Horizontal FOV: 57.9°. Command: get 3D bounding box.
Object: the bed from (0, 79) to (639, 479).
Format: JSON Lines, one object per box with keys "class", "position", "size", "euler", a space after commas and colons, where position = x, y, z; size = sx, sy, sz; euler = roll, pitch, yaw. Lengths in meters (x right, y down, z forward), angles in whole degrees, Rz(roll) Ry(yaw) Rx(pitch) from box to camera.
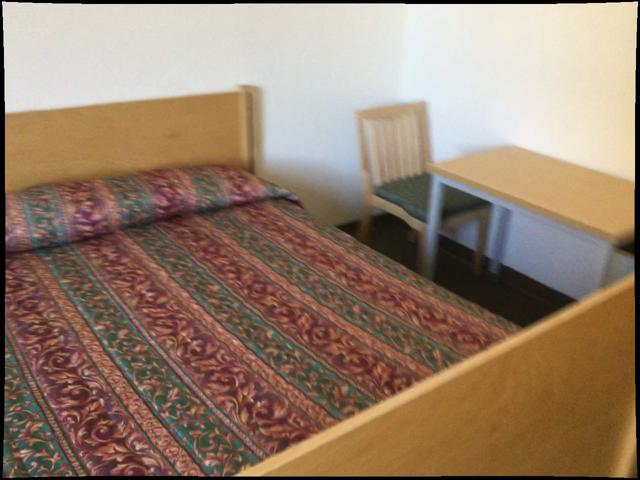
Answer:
{"class": "bed", "position": [-0.410, 0.280, 1.810], "size": [1.859, 0.991, 2.240], "euler": [-16, 31, -31]}
